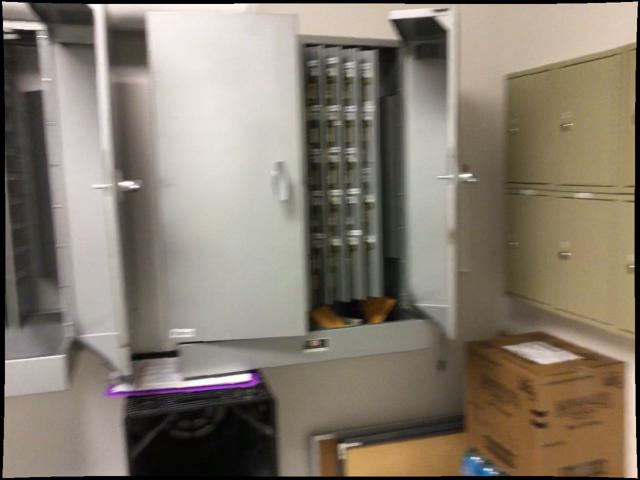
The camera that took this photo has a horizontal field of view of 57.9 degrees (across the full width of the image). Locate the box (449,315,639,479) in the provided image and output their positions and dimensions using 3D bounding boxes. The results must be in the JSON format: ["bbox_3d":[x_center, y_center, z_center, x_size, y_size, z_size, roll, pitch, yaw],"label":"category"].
[{"bbox_3d":[0.549,0.440,1.480,0.270,0.370,0.390,-5,10,-17],"label":"box"}]
